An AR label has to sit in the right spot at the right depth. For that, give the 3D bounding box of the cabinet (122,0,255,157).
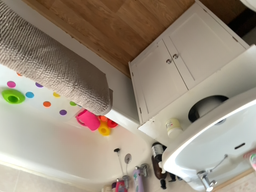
[{"bbox_3d":[0.350,-0.120,1.240,0.400,0.620,0.620,33,119,-32],"label":"cabinet"}]

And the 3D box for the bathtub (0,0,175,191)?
[{"bbox_3d":[-0.550,-0.040,1.220,1.620,0.530,0.680,33,119,-32],"label":"bathtub"}]

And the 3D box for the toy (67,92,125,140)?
[{"bbox_3d":[-0.240,0.160,1.590,0.300,0.090,0.300,-39,126,24],"label":"toy"}]
